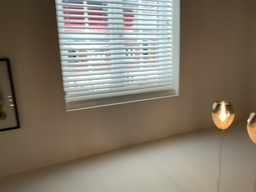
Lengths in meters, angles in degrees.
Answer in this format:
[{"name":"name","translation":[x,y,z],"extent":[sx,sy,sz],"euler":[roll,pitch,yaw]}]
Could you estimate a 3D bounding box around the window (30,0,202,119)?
[{"name":"window","translation":[0.000,-0.680,2.120],"extent":[1.730,1.560,0.200],"euler":[-7,-168,-25]}]
